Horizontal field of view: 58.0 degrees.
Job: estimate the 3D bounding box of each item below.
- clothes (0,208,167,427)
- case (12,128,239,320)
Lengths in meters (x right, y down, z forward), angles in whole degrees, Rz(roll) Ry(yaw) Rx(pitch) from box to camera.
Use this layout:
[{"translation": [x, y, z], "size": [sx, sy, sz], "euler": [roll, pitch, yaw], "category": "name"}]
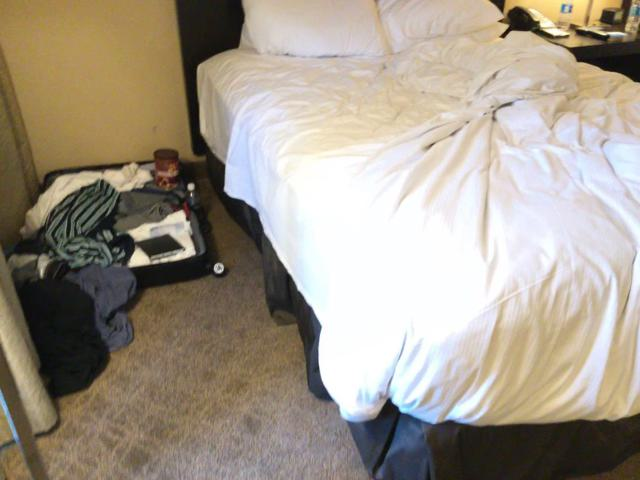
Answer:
[{"translation": [-0.800, 0.200, 1.910], "size": [0.450, 0.240, 0.730], "euler": [-13, 32, -15], "category": "clothes"}, {"translation": [-0.780, -0.130, 2.330], "size": [0.690, 0.270, 0.890], "euler": [-13, 32, -15], "category": "case"}]
